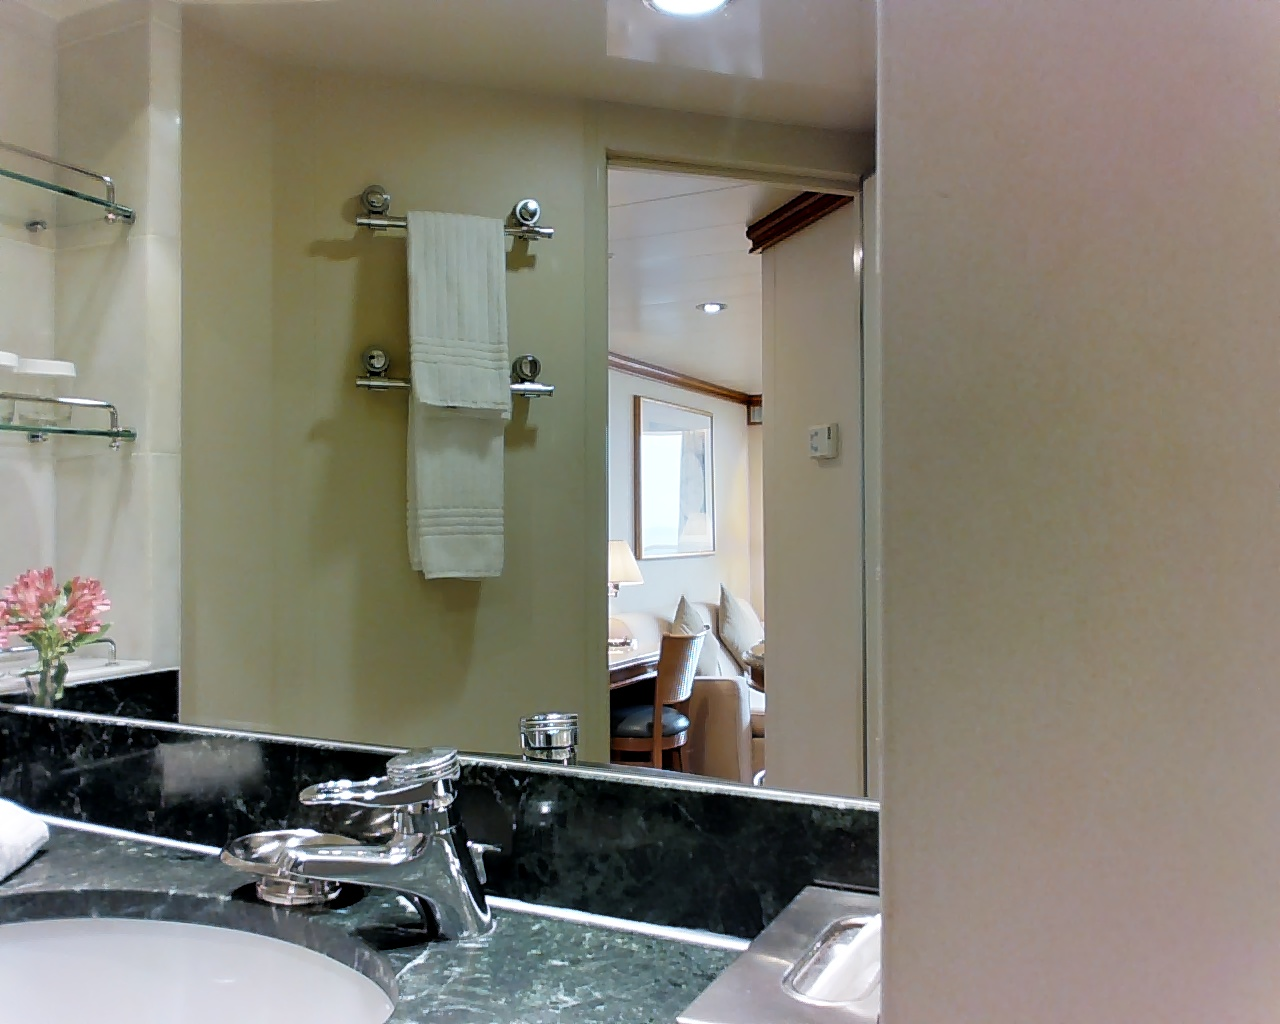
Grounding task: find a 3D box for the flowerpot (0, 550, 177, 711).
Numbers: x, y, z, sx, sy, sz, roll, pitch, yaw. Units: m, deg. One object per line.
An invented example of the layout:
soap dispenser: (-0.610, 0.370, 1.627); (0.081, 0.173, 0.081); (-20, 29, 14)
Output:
flowerpot: (-0.740, 0.130, 1.240); (0.330, 0.160, 0.230); (-1, 0, -9)
